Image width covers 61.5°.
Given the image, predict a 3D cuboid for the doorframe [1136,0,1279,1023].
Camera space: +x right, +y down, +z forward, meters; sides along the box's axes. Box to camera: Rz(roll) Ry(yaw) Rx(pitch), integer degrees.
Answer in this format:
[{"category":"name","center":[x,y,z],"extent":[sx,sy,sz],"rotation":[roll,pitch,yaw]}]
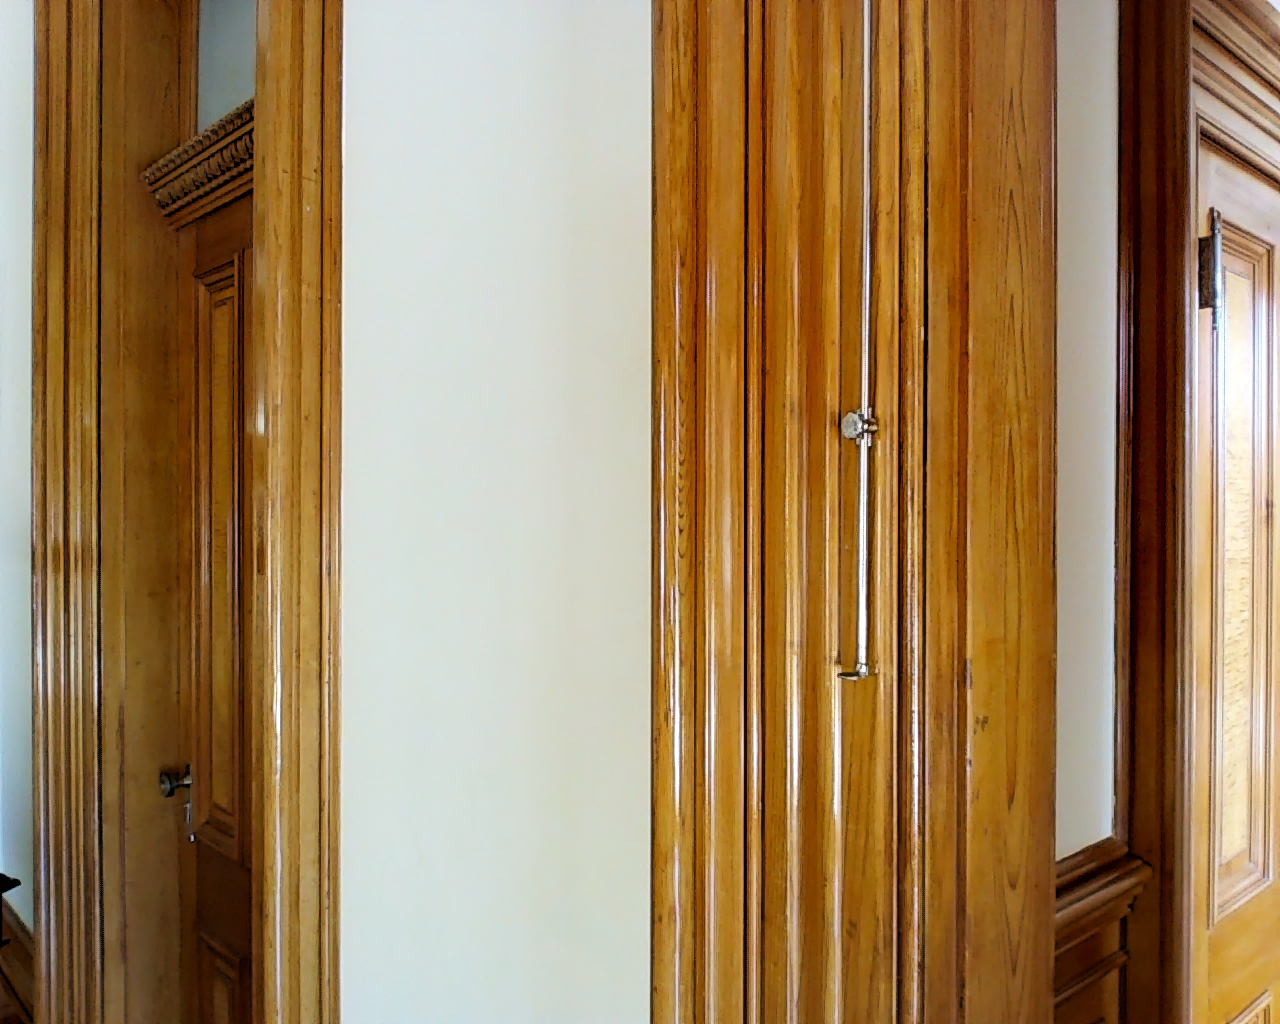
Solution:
[{"category":"doorframe","center":[1.450,0.240,2.200],"extent":[1.620,2.510,0.140],"rotation":[-1,1,-41]}]
